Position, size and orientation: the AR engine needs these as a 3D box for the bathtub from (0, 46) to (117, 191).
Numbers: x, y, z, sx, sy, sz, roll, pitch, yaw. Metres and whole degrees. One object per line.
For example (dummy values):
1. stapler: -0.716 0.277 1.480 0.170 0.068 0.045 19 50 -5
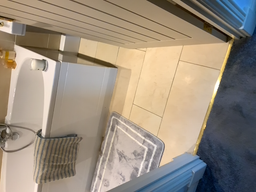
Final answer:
1. bathtub: -0.720 0.450 2.000 0.730 0.570 1.640 23 106 39
